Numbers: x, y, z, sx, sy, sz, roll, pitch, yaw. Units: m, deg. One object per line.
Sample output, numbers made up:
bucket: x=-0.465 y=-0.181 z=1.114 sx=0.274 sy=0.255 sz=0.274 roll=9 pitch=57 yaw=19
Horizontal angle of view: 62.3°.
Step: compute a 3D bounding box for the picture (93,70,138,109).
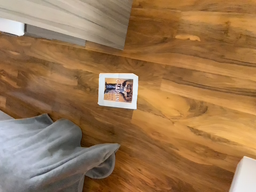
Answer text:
picture: x=-0.080 y=-0.040 z=1.280 sx=0.300 sy=0.040 sz=0.220 roll=1 pitch=92 yaw=32
